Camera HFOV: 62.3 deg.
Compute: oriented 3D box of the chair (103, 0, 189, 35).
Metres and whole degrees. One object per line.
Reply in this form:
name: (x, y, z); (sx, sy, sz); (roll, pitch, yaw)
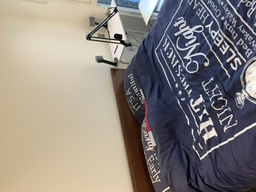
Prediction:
chair: (0.180, -1.080, 2.500); (0.450, 0.830, 0.420); (115, 150, -49)
